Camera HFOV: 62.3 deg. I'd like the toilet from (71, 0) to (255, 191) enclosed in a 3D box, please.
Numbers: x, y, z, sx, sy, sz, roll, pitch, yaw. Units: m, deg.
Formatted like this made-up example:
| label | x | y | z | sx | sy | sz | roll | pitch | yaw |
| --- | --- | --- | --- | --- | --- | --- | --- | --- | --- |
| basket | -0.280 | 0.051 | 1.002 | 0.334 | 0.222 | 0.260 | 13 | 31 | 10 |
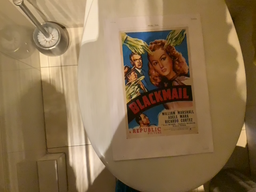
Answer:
| label | x | y | z | sx | sy | sz | roll | pitch | yaw |
| --- | --- | --- | --- | --- | --- | --- | --- | --- | --- |
| toilet | 0.070 | -0.050 | 0.660 | 0.390 | 0.440 | 0.530 | -2 | 88 | -4 |
